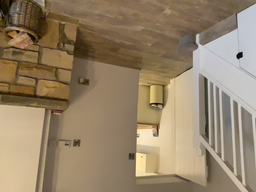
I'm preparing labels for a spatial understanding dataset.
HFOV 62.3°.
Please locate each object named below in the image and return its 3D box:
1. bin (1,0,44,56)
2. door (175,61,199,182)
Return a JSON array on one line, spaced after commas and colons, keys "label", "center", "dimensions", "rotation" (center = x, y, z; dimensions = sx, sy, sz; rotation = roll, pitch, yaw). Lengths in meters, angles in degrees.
[{"label": "bin", "center": [-1.010, -0.670, 2.040], "dimensions": [0.290, 0.440, 0.320], "rotation": [8, 168, -26]}, {"label": "door", "center": [0.980, 0.400, 3.590], "dimensions": [0.080, 1.840, 0.710], "rotation": [5, 169, -10]}]
